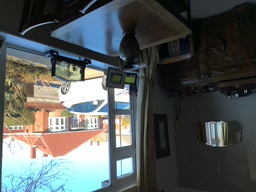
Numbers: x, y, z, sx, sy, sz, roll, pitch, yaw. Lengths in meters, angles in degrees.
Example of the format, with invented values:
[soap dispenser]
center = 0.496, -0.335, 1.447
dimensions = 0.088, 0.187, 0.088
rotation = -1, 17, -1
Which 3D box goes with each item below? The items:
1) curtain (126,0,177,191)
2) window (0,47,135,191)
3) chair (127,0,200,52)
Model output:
[curtain]
center = 0.310, 0.080, 2.810
dimensions = 0.310, 2.550, 0.500
rotation = -8, 171, 37
[window]
center = -0.640, 0.400, 2.230
dimensions = 0.120, 1.500, 2.180
rotation = -8, 171, 37
[chair]
center = 0.320, -0.890, 1.950
dimensions = 0.470, 0.780, 0.480
rotation = -6, 172, 36
